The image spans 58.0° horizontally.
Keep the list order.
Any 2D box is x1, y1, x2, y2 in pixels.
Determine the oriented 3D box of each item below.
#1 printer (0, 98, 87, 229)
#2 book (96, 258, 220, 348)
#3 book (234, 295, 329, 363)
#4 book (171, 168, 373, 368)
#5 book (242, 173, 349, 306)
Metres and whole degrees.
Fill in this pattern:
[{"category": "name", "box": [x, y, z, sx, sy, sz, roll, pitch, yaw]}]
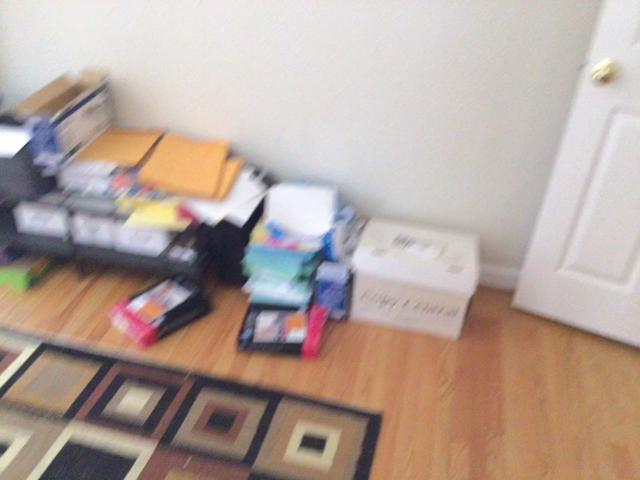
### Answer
[{"category": "printer", "box": [-1.150, -0.300, 2.180, 0.360, 0.350, 0.310, 11, 31, 7]}, {"category": "book", "box": [-0.590, 0.220, 2.130, 0.260, 0.090, 0.350, 29, 38, 33]}, {"category": "book", "box": [-0.130, 0.310, 2.050, 0.310, 0.060, 0.250, 6, 31, -1]}, {"category": "book", "box": [-0.150, 0.070, 2.140, 0.570, 0.380, 0.600, 11, 31, 7]}, {"category": "book", "box": [-0.090, -0.010, 2.200, 0.310, 0.330, 0.340, 11, 31, 7]}]
